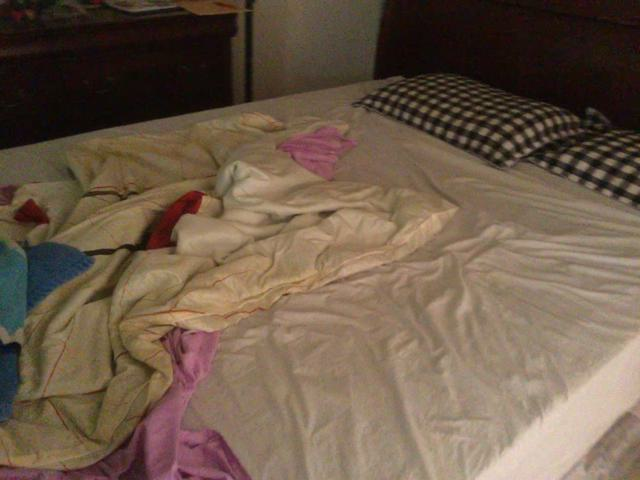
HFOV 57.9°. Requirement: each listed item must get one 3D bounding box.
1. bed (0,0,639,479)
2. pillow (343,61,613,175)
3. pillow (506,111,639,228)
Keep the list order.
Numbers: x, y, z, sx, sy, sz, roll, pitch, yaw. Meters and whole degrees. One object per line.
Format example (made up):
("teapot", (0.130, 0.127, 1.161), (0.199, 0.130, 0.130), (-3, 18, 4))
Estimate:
("bed", (0.060, -0.040, 1.500), (2.360, 1.180, 1.660), (-21, 37, -37))
("pillow", (0.500, -0.440, 1.920), (0.480, 0.120, 0.710), (-21, 37, -37))
("pillow", (0.930, -0.170, 1.560), (0.480, 0.120, 0.650), (-21, 37, -37))
